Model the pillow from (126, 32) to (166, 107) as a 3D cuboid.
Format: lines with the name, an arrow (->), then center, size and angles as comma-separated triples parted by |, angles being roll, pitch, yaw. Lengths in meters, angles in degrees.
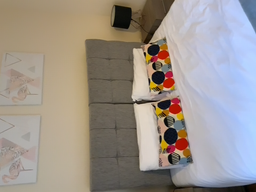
pillow -> 0.180, -0.270, 2.200 | 0.180, 0.340, 0.680 | -26, 58, 41

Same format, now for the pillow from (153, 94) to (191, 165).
pillow -> 0.370, 0.290, 1.800 | 0.130, 0.260, 0.540 | -21, 60, 29

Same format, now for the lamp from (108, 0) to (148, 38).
lamp -> -0.010, -0.940, 2.600 | 0.320, 0.390, 0.280 | 121, 146, -59
